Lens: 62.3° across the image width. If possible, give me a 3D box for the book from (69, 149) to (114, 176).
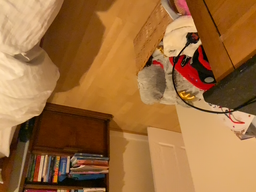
[{"bbox_3d":[-0.290,0.540,1.710,0.320,0.160,0.130,13,143,-26],"label":"book"}]
